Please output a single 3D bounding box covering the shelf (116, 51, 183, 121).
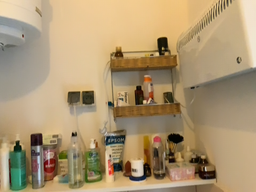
[{"bbox_3d":[0.100,-0.050,1.060,0.300,0.320,0.120,-2,-2,-5],"label":"shelf"}]
